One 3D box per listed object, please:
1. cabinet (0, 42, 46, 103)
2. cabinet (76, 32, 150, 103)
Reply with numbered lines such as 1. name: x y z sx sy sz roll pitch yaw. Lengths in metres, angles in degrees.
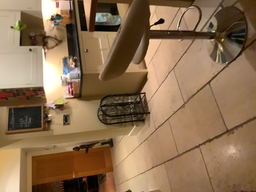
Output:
1. cabinet: -1.620 -0.310 2.810 0.370 0.960 0.700 120 143 -60
2. cabinet: -0.270 -0.400 3.080 0.630 0.870 0.750 120 143 -60
